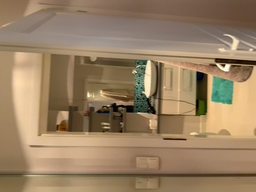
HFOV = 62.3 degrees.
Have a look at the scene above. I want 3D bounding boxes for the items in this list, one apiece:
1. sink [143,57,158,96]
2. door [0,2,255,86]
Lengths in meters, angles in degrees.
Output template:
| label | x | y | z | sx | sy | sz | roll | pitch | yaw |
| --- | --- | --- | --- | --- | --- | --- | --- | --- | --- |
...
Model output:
| label | x | y | z | sx | sy | sz | roll | pitch | yaw |
| --- | --- | --- | --- | --- | --- | --- | --- | --- | --- |
| sink | 0.350 | -0.290 | 3.380 | 0.380 | 0.130 | 0.570 | 161 | 112 | -83 |
| door | 0.370 | -0.340 | 1.250 | 0.980 | 1.900 | 0.150 | -100 | 15 | -62 |
